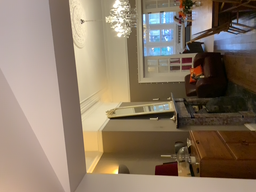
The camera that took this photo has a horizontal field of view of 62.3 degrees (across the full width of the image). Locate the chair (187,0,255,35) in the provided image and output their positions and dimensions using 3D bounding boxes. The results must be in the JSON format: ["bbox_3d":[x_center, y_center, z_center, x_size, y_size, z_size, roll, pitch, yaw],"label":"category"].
[{"bbox_3d":[1.450,-1.310,3.370,0.450,0.920,0.550,-58,-35,-76],"label":"chair"}]
